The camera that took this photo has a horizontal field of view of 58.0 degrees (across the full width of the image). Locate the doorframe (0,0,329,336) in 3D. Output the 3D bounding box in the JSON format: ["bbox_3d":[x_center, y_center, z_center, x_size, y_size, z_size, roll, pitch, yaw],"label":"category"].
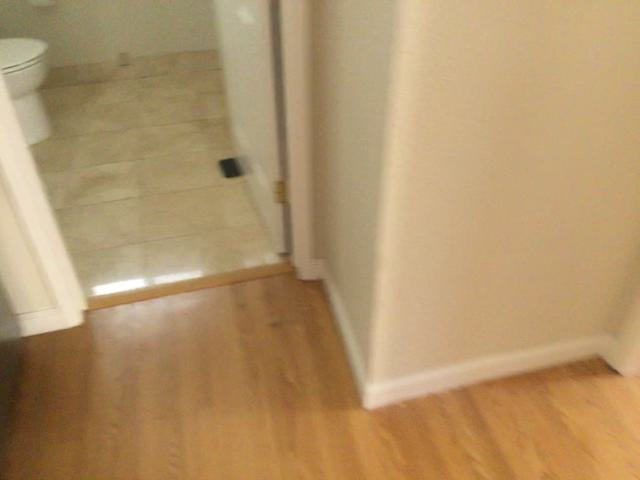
[{"bbox_3d":[-0.440,-0.620,1.370,0.860,1.970,0.240,-11,40,-11],"label":"doorframe"}]
